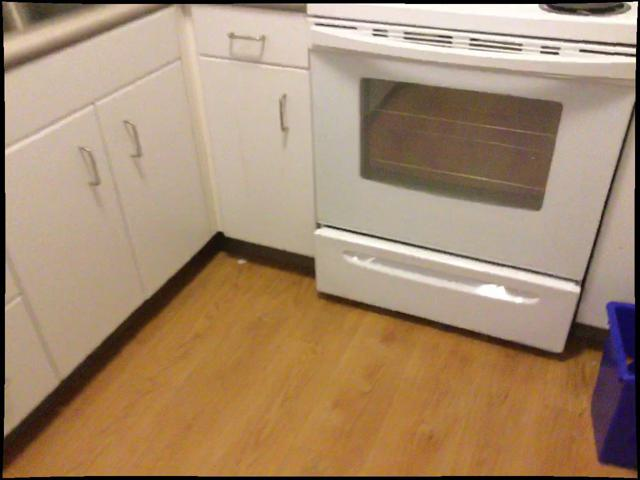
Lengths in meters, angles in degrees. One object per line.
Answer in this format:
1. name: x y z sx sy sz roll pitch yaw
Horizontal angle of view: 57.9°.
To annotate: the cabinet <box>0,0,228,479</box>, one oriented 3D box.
1. cabinet: -0.629 -0.010 1.450 0.120 0.871 1.100 13 40 20
